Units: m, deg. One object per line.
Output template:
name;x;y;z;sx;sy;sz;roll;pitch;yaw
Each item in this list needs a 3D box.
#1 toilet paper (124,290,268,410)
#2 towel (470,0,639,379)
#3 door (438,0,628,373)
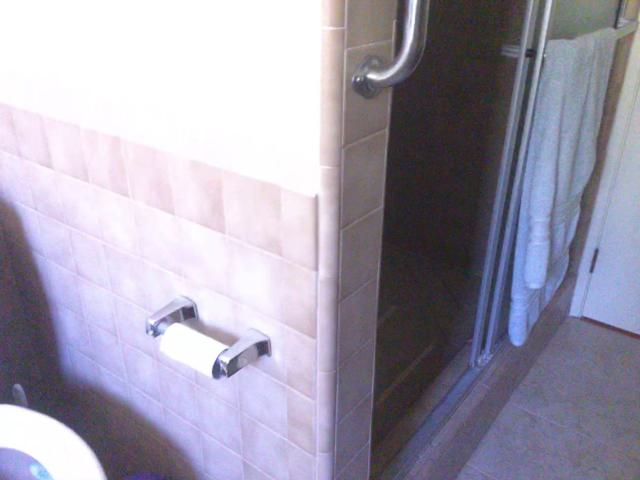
toilet paper;-0.190;0.160;0.880;0.210;0.070;0.090;20;34;32
towel;0.600;-0.150;1.490;0.140;0.950;0.420;20;34;32
door;0.610;-0.220;1.630;0.140;0.960;0.730;20;34;32
